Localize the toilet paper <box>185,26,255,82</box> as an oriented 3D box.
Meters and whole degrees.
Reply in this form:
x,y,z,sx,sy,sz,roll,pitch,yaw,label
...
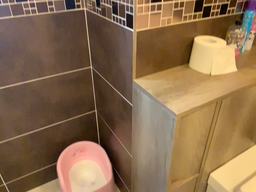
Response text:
x,y,z,sx,sy,sz,roll,pitch,yaw,label
0.350,-0.170,0.820,0.180,0.140,0.150,-18,36,-26,toilet paper

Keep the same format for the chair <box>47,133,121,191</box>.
x,y,z,sx,sy,sz,roll,pitch,yaw,label
-0.260,0.470,1.280,0.320,0.270,0.310,-17,36,-26,chair
